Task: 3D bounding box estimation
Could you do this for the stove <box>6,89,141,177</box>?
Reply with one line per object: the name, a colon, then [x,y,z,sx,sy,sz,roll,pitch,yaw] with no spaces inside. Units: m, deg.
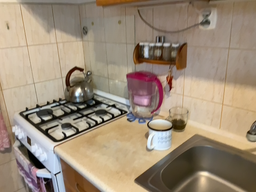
stove: [-0.350,0.160,1.380,0.600,0.160,0.630,-20,26,-41]
